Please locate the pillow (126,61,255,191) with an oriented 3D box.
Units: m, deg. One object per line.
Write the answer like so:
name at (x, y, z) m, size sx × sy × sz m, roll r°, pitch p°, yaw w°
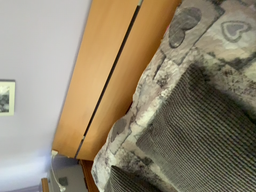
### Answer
pillow at (0.270, 0.240, 0.780) m, size 0.560 × 0.220 × 0.440 m, roll -59°, pitch 43°, yaw 39°
